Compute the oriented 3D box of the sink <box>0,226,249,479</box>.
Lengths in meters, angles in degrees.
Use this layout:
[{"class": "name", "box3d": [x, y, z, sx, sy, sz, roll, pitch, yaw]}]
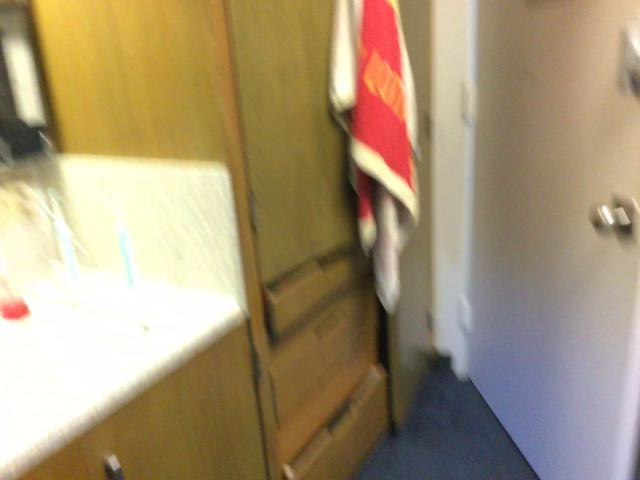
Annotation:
[{"class": "sink", "box3d": [-0.610, 0.250, 1.060, 0.590, 0.260, 0.760, 7, 24, 30]}]
